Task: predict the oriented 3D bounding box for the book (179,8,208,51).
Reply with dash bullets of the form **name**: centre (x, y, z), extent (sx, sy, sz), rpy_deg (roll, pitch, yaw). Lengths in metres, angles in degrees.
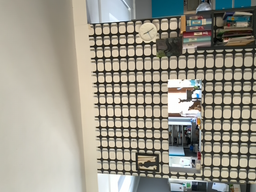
- **book**: centre (0.630, -0.640, 2.080), extent (0.210, 0.250, 0.360), rpy_deg (-33, -58, -77)
